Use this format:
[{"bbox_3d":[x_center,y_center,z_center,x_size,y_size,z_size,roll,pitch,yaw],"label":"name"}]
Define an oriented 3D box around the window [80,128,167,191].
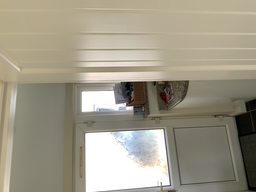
[{"bbox_3d":[-0.060,0.740,2.350,0.050,0.920,0.710,109,158,-71],"label":"window"}]
